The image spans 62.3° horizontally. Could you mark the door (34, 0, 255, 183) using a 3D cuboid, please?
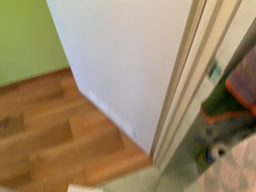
[{"bbox_3d":[-0.110,-0.360,0.650,0.110,2.100,1.010,-37,65,-20],"label":"door"}]
